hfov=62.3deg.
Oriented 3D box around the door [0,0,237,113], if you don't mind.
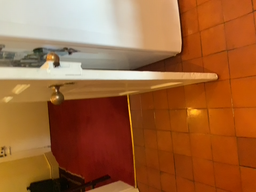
[{"bbox_3d":[-0.540,-0.060,0.890,0.990,1.970,0.220,-11,84,53],"label":"door"}]
